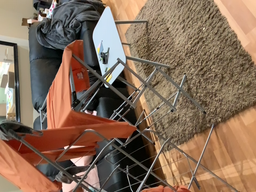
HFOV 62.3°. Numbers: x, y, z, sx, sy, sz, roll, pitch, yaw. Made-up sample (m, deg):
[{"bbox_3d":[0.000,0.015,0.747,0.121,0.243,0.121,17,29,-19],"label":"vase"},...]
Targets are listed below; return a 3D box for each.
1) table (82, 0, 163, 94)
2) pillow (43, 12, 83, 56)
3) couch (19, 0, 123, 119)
[{"bbox_3d":[-0.090,-0.460,2.050,0.400,0.470,0.750,-48,49,41],"label":"table"},{"bbox_3d":[-0.830,-0.770,2.670,0.130,0.290,0.570,50,128,11],"label":"pillow"},{"bbox_3d":[-0.840,-0.610,2.780,0.830,0.900,1.590,-46,50,42],"label":"couch"}]
